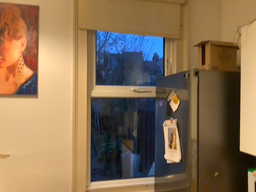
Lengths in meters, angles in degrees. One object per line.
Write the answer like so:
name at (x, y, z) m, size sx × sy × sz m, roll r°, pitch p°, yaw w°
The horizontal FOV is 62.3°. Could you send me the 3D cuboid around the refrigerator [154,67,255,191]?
refrigerator at (0.670, 0.750, 1.750) m, size 0.730 × 1.860 × 0.660 m, roll 0°, pitch -1°, yaw -12°
